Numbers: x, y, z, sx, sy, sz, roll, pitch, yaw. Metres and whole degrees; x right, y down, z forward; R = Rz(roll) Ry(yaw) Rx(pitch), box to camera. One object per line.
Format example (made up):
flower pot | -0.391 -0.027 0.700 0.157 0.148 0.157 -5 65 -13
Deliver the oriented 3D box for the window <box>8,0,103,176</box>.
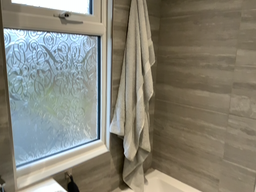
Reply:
window | -0.370 -0.200 1.220 0.510 1.220 0.070 -10 17 -42
